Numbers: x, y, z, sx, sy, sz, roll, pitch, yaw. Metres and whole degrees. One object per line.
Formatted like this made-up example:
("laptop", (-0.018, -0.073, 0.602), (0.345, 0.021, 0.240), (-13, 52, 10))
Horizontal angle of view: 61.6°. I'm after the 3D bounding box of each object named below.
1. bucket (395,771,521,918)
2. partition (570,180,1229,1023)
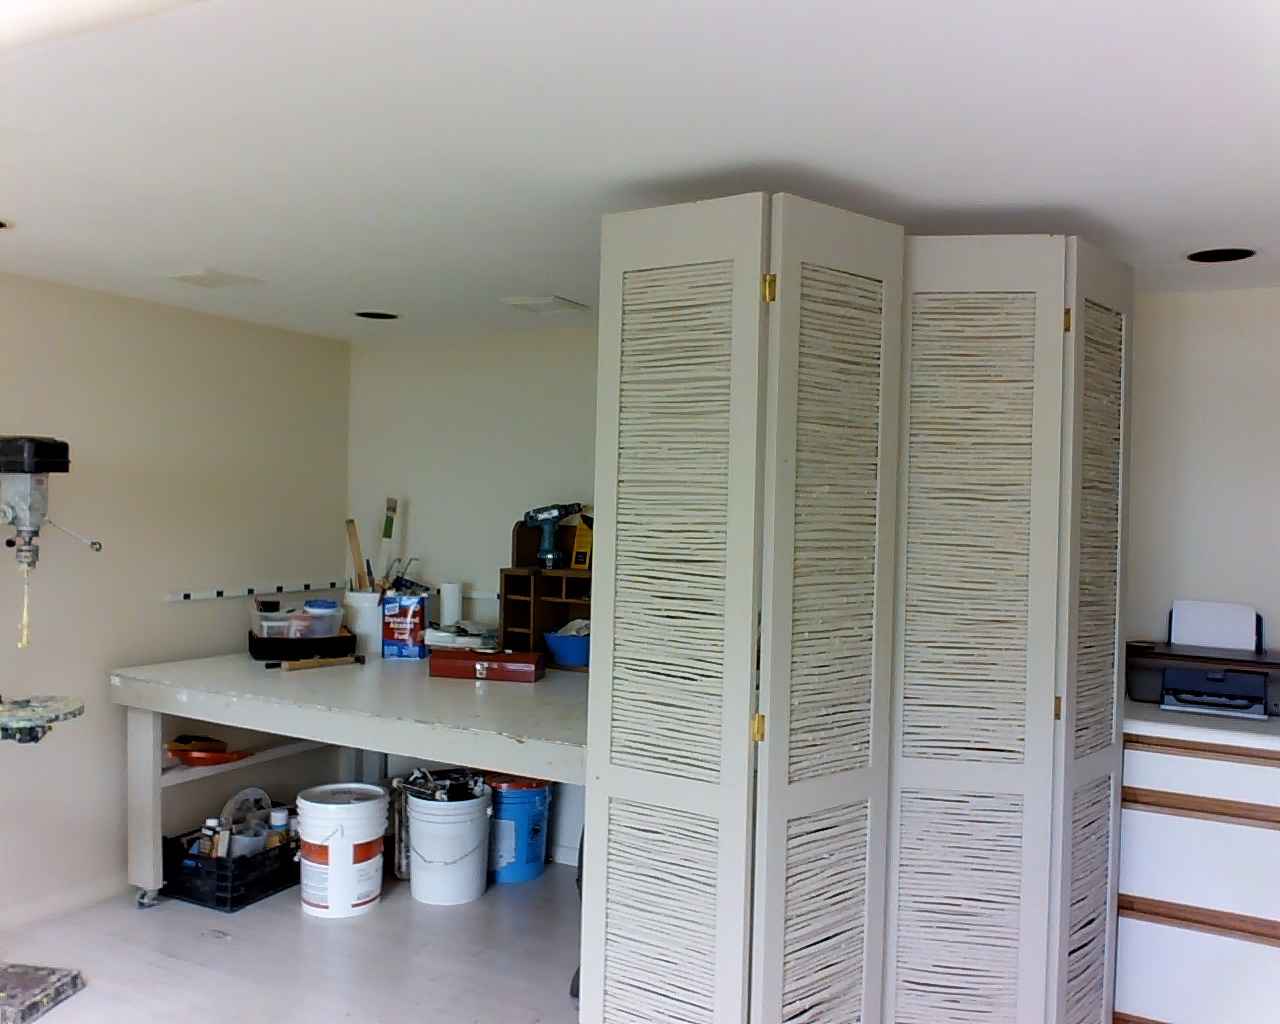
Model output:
("bucket", (-0.650, 1.180, 3.860), (0.300, 0.390, 0.330), (2, 0, 27))
("partition", (0.560, 0.420, 2.310), (1.330, 2.001, 0.370), (2, 0, -18))
